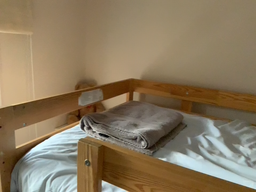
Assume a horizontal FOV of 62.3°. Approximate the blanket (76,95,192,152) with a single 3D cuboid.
[{"bbox_3d":[0.060,0.100,1.070,0.470,0.420,0.080,-17,115,-62],"label":"blanket"}]
